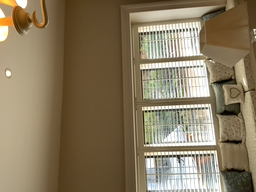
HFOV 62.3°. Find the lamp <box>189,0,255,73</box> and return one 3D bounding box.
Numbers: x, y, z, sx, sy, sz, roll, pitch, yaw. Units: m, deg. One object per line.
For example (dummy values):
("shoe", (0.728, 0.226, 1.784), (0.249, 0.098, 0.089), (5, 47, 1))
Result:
("lamp", (0.740, -0.400, 1.350), (0.340, 0.590, 0.390), (66, -158, -78))
